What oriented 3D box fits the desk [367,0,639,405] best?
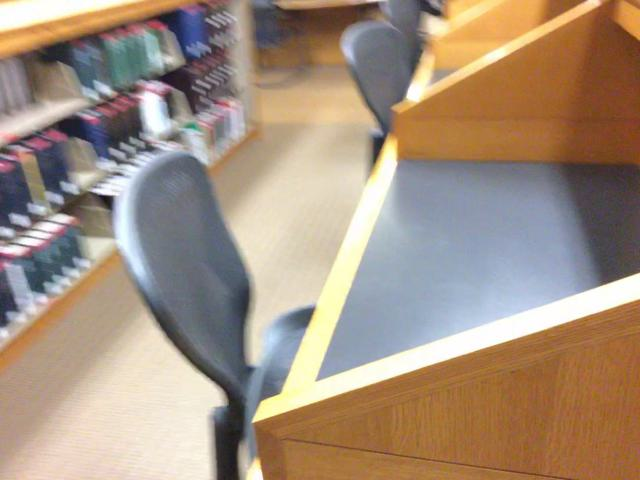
[{"bbox_3d":[0.720,-0.400,2.160,0.830,1.230,1.380,6,29,13],"label":"desk"}]

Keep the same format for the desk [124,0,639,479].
[{"bbox_3d":[0.390,0.180,1.160,0.770,1.220,1.240,6,29,13],"label":"desk"}]
